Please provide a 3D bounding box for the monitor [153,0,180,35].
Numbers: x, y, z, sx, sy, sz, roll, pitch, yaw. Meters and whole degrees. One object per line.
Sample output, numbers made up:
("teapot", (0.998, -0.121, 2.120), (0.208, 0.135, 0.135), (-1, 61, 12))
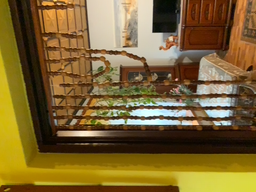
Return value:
("monitor", (0.700, -1.490, 3.920), (0.060, 0.460, 0.710), (-80, -9, -75))
